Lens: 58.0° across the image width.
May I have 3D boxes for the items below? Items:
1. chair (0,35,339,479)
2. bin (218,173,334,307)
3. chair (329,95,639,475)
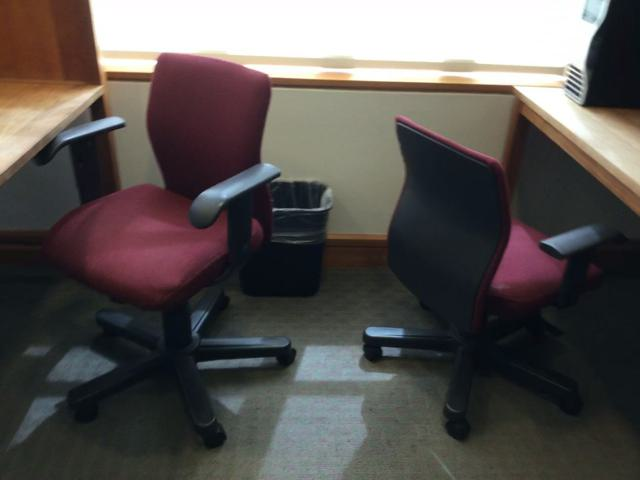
[{"bbox_3d":[-0.430,0.010,1.570,0.680,0.920,0.580,18,31,20],"label":"chair"},{"bbox_3d":[-0.170,0.000,2.140,0.380,0.390,0.270,4,29,-6],"label":"bin"},{"bbox_3d":[0.490,0.070,1.690,0.610,0.800,0.630,-10,33,-28],"label":"chair"}]
